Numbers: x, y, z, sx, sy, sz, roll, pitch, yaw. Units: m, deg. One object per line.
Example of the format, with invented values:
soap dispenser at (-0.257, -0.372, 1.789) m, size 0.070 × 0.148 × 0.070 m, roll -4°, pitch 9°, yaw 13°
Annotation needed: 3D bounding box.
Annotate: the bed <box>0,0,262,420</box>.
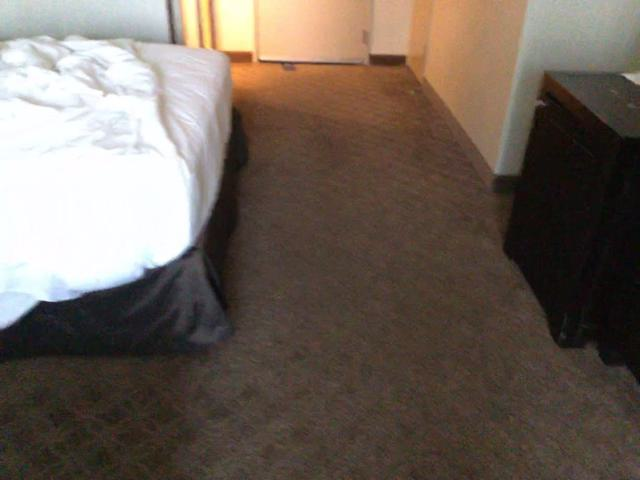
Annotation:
bed at (-1.380, -0.580, 2.050) m, size 2.200 × 1.510 × 1.800 m, roll -1°, pitch 30°, yaw -2°
